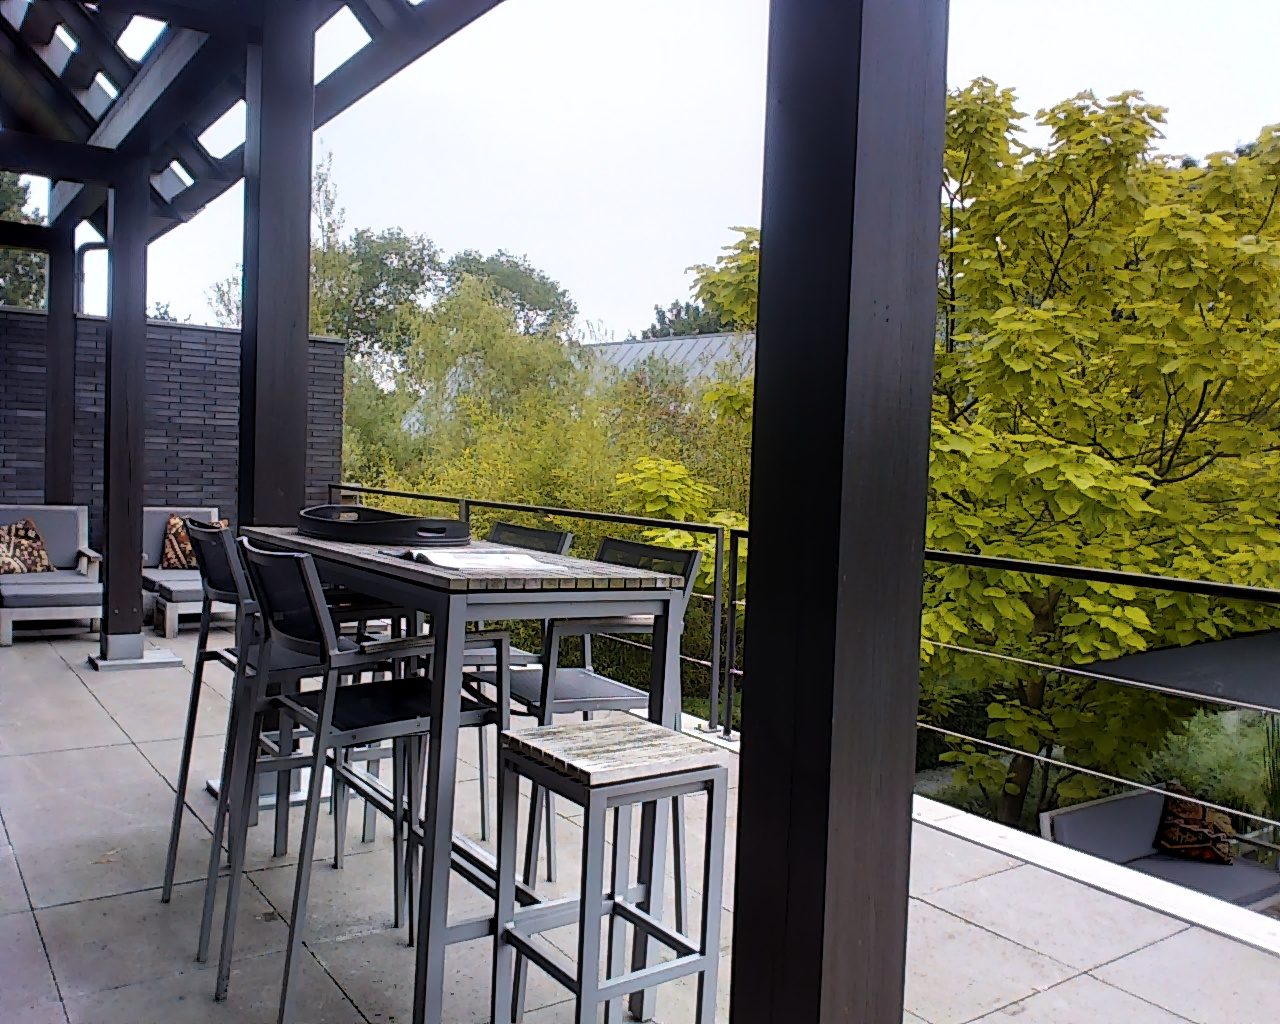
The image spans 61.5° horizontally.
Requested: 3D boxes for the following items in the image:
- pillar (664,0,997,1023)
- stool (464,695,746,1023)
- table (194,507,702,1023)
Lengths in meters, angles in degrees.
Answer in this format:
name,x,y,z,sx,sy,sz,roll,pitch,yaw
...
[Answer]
name,x,y,z,sx,sy,sz,roll,pitch,yaw
pillar,0.300,0.030,1.750,0.340,2.440,0.300,1,3,-36
stool,-0.090,0.840,2.380,0.400,0.750,0.470,1,3,-36
table,-0.650,0.610,3.040,0.760,1.150,1.600,1,3,-36
